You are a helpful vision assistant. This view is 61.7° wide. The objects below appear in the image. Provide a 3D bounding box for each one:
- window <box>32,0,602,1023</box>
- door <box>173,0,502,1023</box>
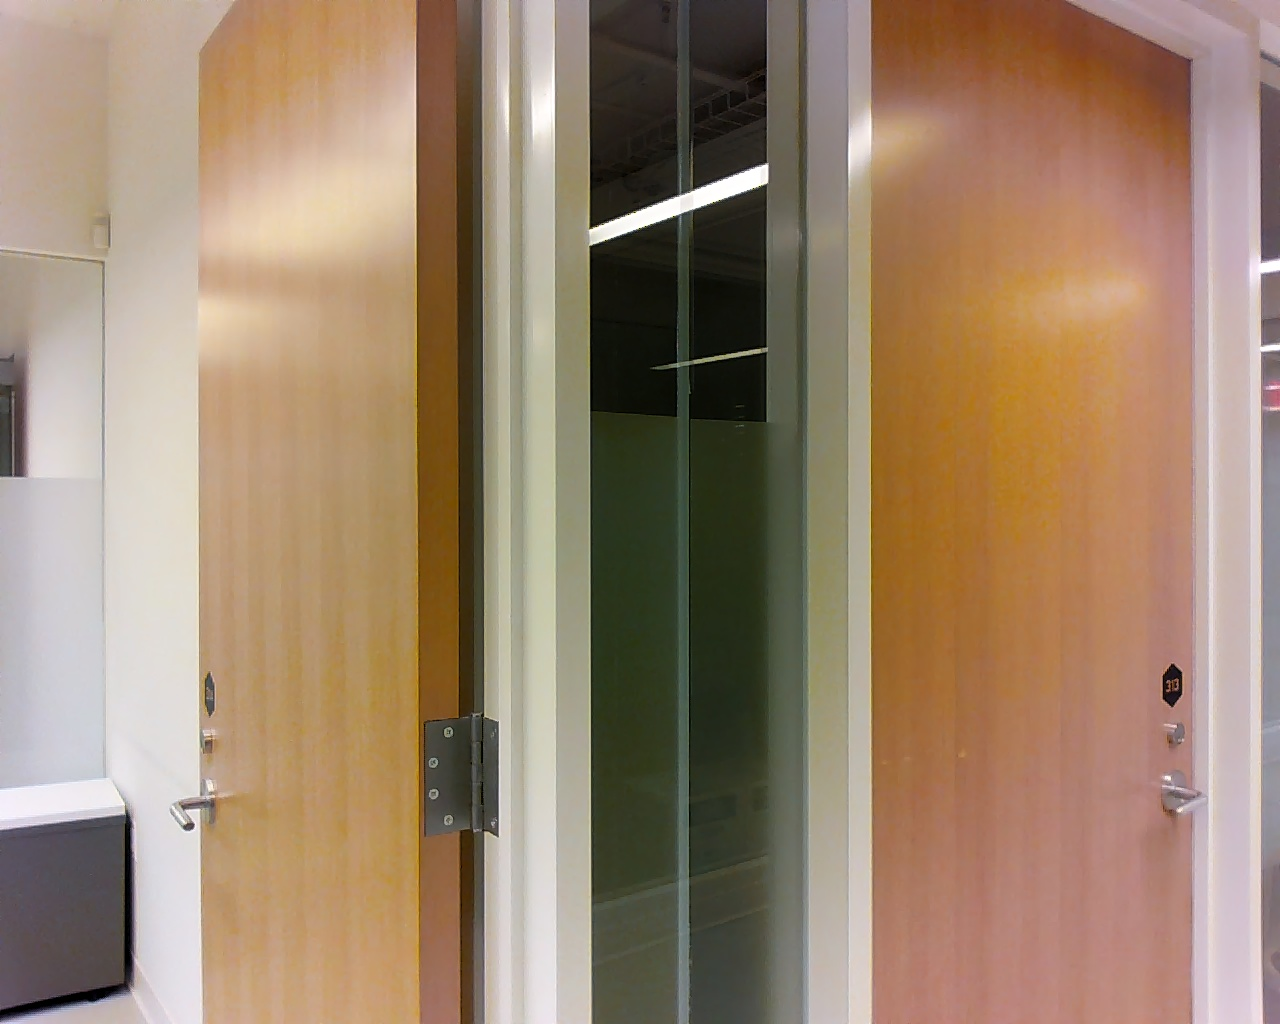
[{"bbox_3d":[-0.960,-0.030,2.240,0.220,2.981,2.810,0,0,-36],"label":"window"},{"bbox_3d":[-0.460,0.320,1.430,0.090,2.281,0.970,0,0,-36],"label":"door"}]
